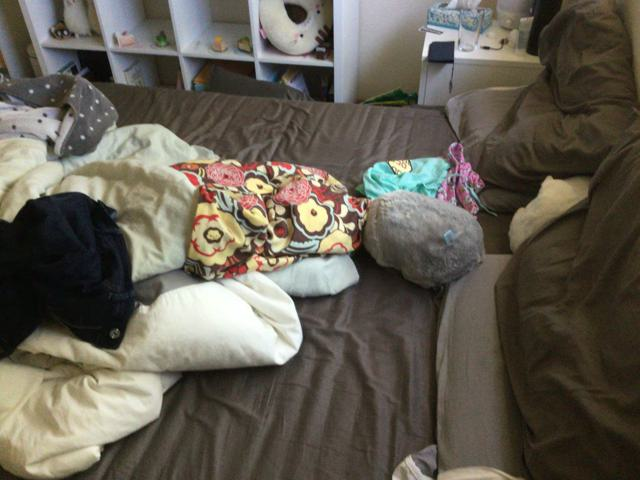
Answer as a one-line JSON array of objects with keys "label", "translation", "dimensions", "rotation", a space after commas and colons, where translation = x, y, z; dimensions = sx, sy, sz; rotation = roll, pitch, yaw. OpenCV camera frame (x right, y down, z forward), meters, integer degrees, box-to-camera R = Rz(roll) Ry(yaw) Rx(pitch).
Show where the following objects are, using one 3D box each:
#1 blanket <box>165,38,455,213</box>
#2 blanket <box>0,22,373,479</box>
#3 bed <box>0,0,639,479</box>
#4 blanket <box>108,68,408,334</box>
[{"label": "blanket", "translation": [-0.040, -0.490, 2.370], "dimensions": [1.060, 0.430, 0.360], "rotation": [12, 41, 15]}, {"label": "blanket", "translation": [-0.600, -0.110, 1.330], "dimensions": [1.270, 0.310, 1.190], "rotation": [7, 40, 9]}, {"label": "bed", "translation": [-0.320, -0.060, 1.400], "dimensions": [2.060, 1.050, 1.810], "rotation": [7, 40, 9]}, {"label": "blanket", "translation": [-0.090, -0.120, 1.310], "dimensions": [0.500, 0.310, 0.510], "rotation": [7, 40, 9]}]
